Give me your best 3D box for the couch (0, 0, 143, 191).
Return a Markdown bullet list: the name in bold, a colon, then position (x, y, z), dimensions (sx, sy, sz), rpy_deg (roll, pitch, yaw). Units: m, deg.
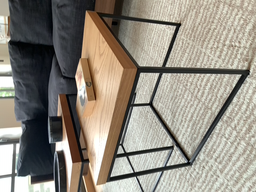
- **couch**: position (-0.530, -0.340, 1.620), dimensions (0.900, 0.750, 2.030), rpy_deg (-122, 38, -48)
